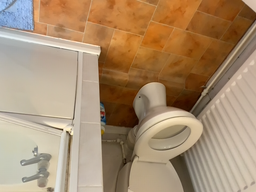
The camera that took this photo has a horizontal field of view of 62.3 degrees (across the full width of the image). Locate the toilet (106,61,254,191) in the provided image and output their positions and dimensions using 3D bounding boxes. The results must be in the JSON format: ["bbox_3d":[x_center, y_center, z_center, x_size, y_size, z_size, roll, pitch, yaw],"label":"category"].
[{"bbox_3d":[0.190,0.340,1.340,0.460,0.850,0.650,9,134,-19],"label":"toilet"}]
